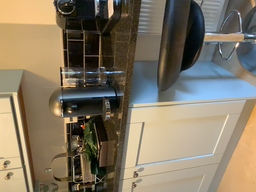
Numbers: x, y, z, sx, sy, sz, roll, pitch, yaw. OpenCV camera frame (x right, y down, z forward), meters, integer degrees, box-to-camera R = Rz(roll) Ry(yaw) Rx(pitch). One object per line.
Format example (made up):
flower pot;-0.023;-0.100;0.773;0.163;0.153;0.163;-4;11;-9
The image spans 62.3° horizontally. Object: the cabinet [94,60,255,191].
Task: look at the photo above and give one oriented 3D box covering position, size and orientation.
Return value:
cabinet;0.250;0.360;1.620;0.590;0.900;1.120;-121;33;-56
